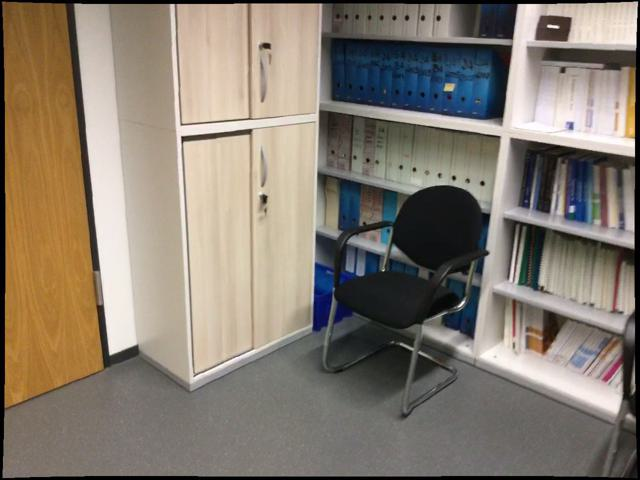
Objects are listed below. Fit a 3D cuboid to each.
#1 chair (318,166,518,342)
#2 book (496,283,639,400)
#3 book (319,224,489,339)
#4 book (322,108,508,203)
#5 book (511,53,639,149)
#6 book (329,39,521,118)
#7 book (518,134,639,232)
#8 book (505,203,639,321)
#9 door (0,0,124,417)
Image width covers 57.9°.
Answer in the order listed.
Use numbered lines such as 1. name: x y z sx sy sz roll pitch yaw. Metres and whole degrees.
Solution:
1. chair: 0.440 0.010 2.580 0.520 0.490 0.750 18 26 39
2. book: 1.249 0.470 2.570 0.890 0.280 0.160 18 26 39
3. book: 0.430 0.200 3.240 0.980 0.330 0.210 18 26 39
4. book: 0.430 -0.460 2.980 1.069 0.320 0.060 18 26 39
5. book: 1.389 -0.511 2.170 1.179 0.310 0.420 18 26 39
6. book: 0.499 -0.861 3.000 0.970 0.320 0.260 18 26 39
7. book: 1.419 -0.200 2.380 1.099 0.300 0.270 18 26 39
8. book: 1.269 0.100 2.540 0.790 0.320 0.290 18 26 39
9. door: -1.299 -0.290 2.060 0.130 2.092 1.000 20 27 41
